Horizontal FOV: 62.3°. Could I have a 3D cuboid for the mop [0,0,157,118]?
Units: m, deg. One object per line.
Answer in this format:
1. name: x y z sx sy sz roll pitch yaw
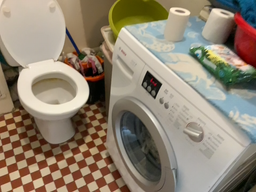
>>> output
1. mop: -0.290 -0.600 1.370 0.990 1.410 0.300 -20 49 -29
